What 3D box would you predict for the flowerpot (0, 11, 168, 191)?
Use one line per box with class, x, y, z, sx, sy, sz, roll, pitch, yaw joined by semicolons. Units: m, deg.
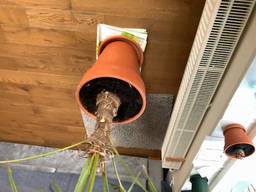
flowerpot;-0.110;0.040;1.040;0.440;1.010;0.390;14;134;-7
